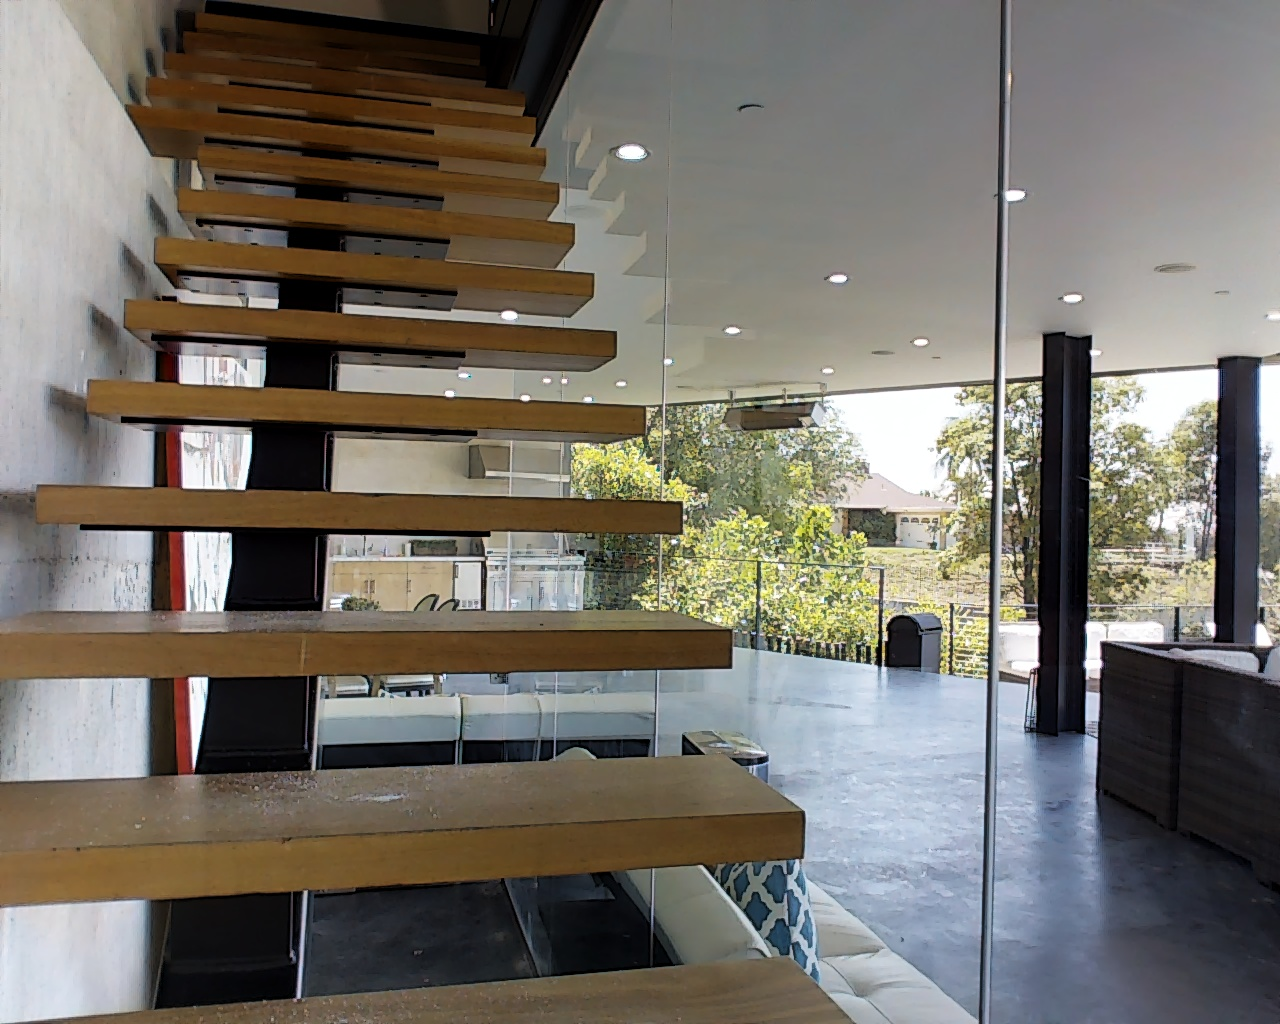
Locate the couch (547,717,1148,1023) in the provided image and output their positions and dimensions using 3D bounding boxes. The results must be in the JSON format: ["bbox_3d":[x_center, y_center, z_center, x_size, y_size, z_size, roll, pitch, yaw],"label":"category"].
[{"bbox_3d":[0.350,1.180,3.070,0.910,0.790,2.000,2,0,-14],"label":"couch"}]
